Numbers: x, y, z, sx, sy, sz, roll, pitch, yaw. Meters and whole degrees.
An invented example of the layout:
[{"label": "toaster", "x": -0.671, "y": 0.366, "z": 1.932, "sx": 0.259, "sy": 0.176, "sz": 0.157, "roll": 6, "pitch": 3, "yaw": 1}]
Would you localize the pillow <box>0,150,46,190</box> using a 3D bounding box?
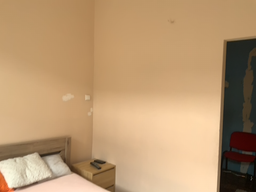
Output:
[{"label": "pillow", "x": -1.130, "y": 0.760, "z": 2.240, "sx": 0.250, "sy": 0.250, "sz": 0.410, "roll": 4, "pitch": 2, "yaw": 43}]
